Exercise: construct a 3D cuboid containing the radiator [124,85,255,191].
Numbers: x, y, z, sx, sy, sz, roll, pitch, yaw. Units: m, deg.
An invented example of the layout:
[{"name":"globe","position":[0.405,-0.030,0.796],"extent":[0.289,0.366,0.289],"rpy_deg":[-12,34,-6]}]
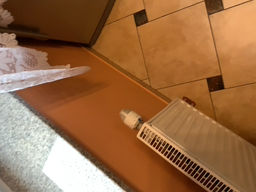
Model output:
[{"name":"radiator","position":[0.480,0.260,0.840],"extent":[0.860,0.640,0.100],"rpy_deg":[34,110,15]}]
